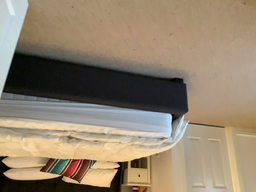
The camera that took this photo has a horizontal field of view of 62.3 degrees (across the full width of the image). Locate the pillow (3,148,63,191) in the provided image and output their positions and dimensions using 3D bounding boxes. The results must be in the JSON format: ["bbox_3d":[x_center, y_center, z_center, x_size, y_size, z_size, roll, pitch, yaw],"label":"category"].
[{"bbox_3d":[-1.230,0.970,2.780,0.640,0.400,0.220,15,-159,-14],"label":"pillow"}]

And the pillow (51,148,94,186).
[{"bbox_3d":[-0.720,0.910,2.730,0.420,0.380,0.210,3,-147,-35],"label":"pillow"}]

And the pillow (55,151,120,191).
[{"bbox_3d":[-0.580,1.080,3.010,0.770,0.550,0.200,14,-146,-19],"label":"pillow"}]
